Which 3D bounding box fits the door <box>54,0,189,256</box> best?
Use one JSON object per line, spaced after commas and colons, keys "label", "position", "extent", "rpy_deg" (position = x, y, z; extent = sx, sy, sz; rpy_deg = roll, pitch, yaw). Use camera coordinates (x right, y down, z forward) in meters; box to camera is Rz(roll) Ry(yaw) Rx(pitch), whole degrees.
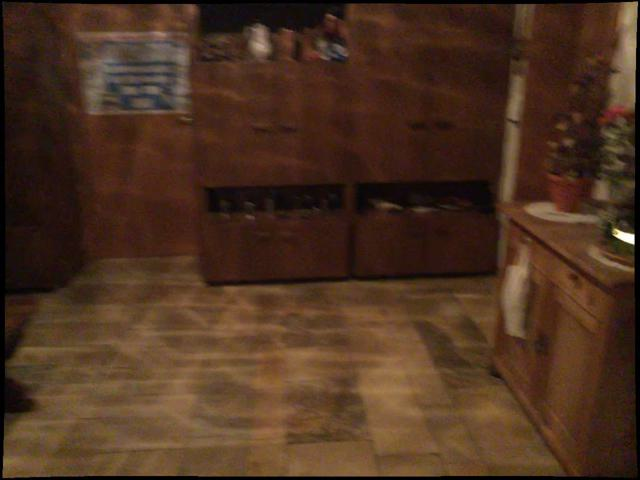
{"label": "door", "position": [-1.359, -0.841, 4.060], "extent": [0.699, 1.952, 0.180], "rpy_deg": [-1, 19, -4]}

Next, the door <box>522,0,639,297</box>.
{"label": "door", "position": [1.469, -0.711, 3.270], "extent": [0.120, 1.872, 0.840], "rpy_deg": [-1, 19, -4]}
